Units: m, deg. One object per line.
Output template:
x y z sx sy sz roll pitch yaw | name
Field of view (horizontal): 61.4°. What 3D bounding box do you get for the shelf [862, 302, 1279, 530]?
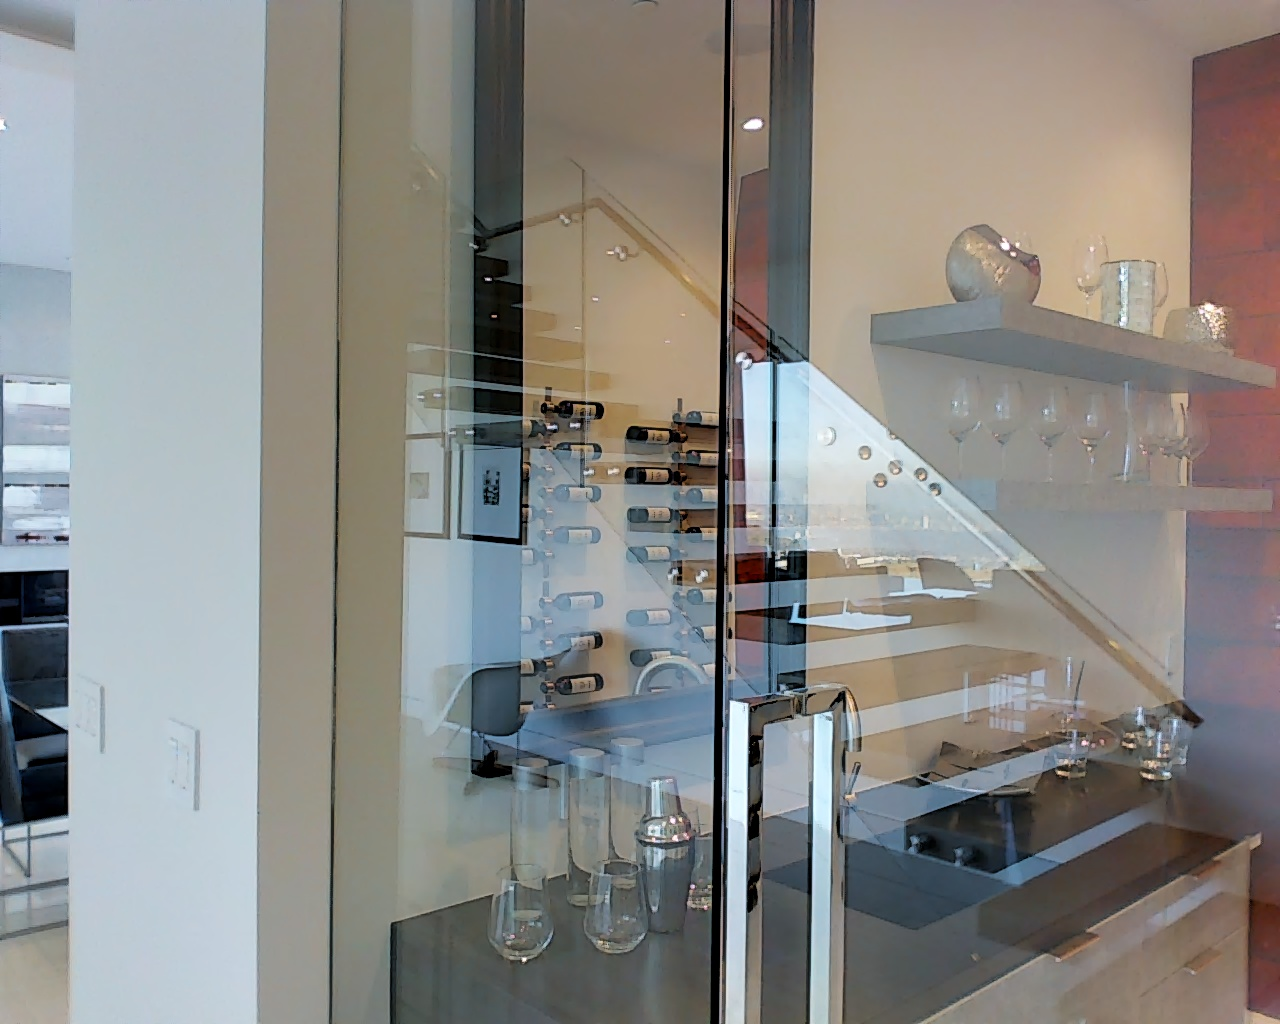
1.210 -0.190 2.760 1.670 0.440 0.320 0 1 -42 | shelf
